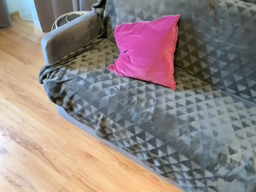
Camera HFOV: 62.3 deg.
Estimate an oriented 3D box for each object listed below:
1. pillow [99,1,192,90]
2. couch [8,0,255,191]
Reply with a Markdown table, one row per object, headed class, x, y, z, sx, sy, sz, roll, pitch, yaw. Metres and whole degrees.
| class | x | y | z | sx | sy | sz | roll | pitch | yaw |
| --- | --- | --- | --- | --- | --- | --- | --- | --- | --- |
| pillow | 0.100 | -0.260 | 1.220 | 0.360 | 0.340 | 0.200 | 38 | 55 | -25 |
| couch | 0.610 | 0.020 | 1.150 | 2.120 | 0.850 | 0.980 | 26 | 48 | 19 |
